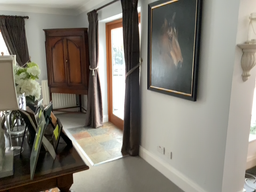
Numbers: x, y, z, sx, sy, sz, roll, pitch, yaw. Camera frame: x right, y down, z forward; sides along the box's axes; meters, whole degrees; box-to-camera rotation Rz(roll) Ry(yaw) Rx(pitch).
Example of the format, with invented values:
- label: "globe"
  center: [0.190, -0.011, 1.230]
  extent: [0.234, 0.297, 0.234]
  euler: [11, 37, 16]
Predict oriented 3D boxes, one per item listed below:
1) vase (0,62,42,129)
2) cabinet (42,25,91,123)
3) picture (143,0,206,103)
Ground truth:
- label: "vase"
  center: [-1.030, -0.030, 1.830]
  extent: [0.460, 0.490, 0.440]
  euler: [-6, 13, -26]
- label: "cabinet"
  center: [-1.300, -0.480, 4.540]
  extent: [0.720, 1.880, 0.730]
  euler: [-8, 14, -31]
- label: "picture"
  center: [0.420, -0.510, 2.220]
  extent: [0.050, 0.990, 0.910]
  euler: [-6, 13, -26]
